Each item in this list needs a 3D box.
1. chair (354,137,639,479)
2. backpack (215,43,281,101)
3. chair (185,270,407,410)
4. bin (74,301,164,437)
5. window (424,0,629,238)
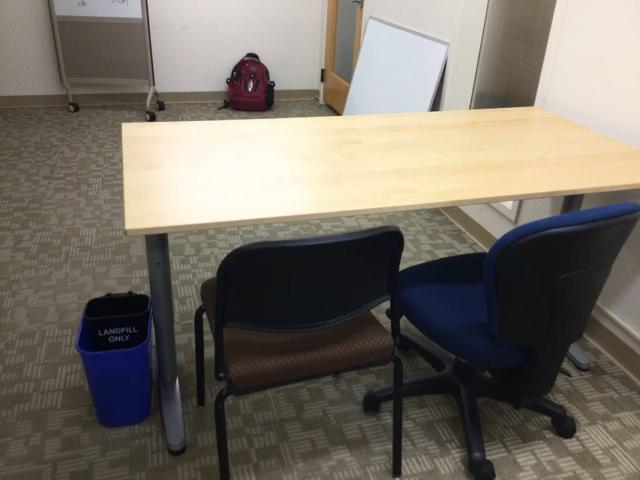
[{"bbox_3d":[0.480,0.190,1.650,0.560,0.810,0.530,-5,29,-16],"label":"chair"},{"bbox_3d":[-0.600,-1.400,4.800,0.470,0.380,0.400,-5,29,-16],"label":"backpack"},{"bbox_3d":[-0.080,0.240,1.520,0.500,0.100,0.360,-5,29,-16],"label":"chair"},{"bbox_3d":[-0.590,0.380,1.720,0.210,0.330,0.180,-5,29,-16],"label":"bin"},{"bbox_3d":[0.860,-0.860,2.540,0.230,1.430,0.910,-5,29,-16],"label":"window"}]
